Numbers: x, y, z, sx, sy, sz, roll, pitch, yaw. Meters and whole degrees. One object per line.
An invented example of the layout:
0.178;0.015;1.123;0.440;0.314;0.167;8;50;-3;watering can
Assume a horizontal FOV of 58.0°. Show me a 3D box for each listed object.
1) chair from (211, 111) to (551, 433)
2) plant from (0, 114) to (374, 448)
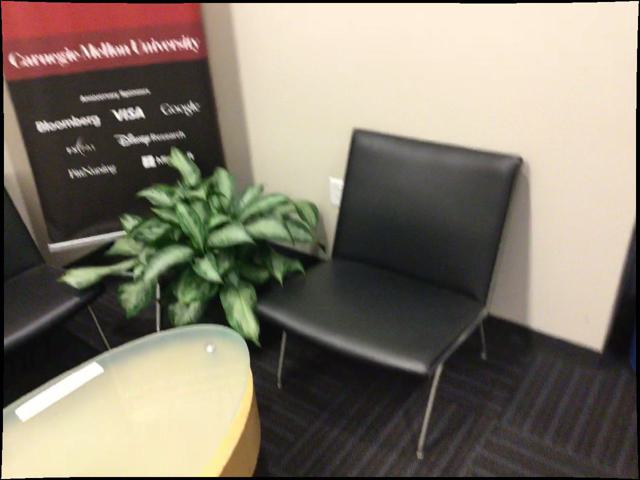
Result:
0.209;0.020;1.770;0.669;0.511;0.730;19;41;34;chair
-0.479;0.010;1.950;0.869;0.411;0.999;23;43;37;plant
